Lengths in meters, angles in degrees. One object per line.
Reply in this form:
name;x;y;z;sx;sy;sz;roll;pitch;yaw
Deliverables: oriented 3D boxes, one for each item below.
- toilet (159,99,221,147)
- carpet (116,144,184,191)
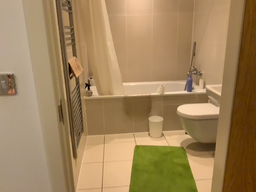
toilet;0.700;0.300;2.510;0.580;0.410;0.380;-3;16;-6
carpet;0.210;0.730;2.140;0.570;0.040;0.880;0;16;4
